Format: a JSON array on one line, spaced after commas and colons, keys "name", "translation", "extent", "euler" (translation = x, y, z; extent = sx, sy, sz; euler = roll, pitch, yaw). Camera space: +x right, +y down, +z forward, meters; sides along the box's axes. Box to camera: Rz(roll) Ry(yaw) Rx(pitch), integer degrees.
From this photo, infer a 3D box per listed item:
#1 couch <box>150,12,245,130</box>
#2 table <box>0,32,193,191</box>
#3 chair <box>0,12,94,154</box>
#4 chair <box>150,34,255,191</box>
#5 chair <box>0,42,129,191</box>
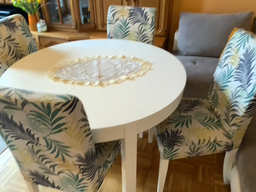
[{"name": "couch", "translation": [0.710, -0.350, 2.260], "extent": [0.660, 0.780, 1.080], "euler": [11, 35, 16]}, {"name": "table", "translation": [-0.200, 0.110, 1.610], "extent": [1.130, 0.770, 1.090], "euler": [11, 35, 16]}, {"name": "chair", "translation": [-0.670, -0.090, 1.710], "extent": [0.580, 0.990, 0.390], "euler": [11, 35, 16]}, {"name": "chair", "translation": [0.480, 0.130, 1.430], "extent": [0.590, 0.940, 0.440], "euler": [4, 34, 6]}, {"name": "chair", "translation": [-0.290, 0.260, 1.250], "extent": [0.420, 0.940, 0.590], "euler": [11, 35, 15]}]
